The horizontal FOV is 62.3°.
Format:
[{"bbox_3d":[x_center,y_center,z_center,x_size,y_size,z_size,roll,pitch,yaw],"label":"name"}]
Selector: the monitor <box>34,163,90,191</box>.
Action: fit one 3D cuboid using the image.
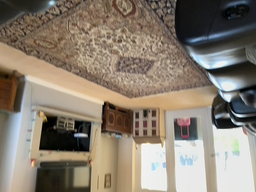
[{"bbox_3d":[-1.000,1.440,3.360,0.040,0.700,1.060,-9,162,31],"label":"monitor"}]
